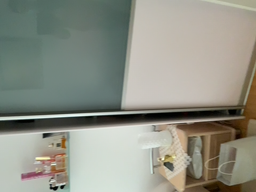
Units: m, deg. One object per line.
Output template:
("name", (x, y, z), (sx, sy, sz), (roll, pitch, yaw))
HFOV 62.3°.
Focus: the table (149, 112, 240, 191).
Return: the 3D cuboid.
("table", (0.510, 0.400, 1.700), (0.420, 0.530, 0.440), (-164, 74, -67))
